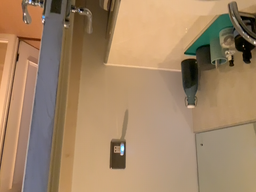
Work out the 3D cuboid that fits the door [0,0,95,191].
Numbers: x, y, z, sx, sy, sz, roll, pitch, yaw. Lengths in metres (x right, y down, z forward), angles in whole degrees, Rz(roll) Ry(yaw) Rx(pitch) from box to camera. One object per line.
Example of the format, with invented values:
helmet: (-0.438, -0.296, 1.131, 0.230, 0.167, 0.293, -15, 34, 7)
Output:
door: (-0.260, -0.230, 0.850, 0.140, 2.100, 0.830, 5, 165, -17)
